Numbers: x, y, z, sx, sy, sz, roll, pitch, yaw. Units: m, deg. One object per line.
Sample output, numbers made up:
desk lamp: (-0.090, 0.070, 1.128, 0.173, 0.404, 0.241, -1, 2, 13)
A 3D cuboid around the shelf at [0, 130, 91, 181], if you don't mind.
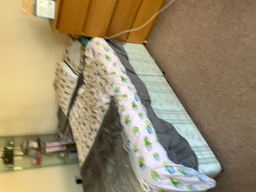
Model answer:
shelf: (-1.510, 0.970, 3.600, 0.500, 1.620, 0.460, 30, 116, 55)
